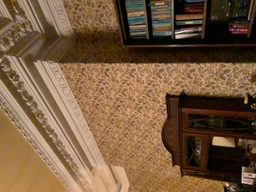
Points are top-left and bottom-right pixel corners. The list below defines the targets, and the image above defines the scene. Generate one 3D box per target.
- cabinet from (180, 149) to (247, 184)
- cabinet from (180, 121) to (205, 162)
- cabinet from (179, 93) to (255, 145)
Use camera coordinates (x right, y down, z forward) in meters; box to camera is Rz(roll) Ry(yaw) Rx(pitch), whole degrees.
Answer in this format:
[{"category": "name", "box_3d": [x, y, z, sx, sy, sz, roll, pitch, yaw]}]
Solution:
[{"category": "cabinet", "box_3d": [1.040, 0.880, 2.660, 0.310, 0.730, 0.190, 76, -156, -42]}, {"category": "cabinet", "box_3d": [0.740, 0.540, 2.450, 0.560, 0.250, 0.150, 76, -156, -42]}, {"category": "cabinet", "box_3d": [0.880, 0.220, 2.030, 0.430, 0.730, 0.210, 76, -156, -42]}]
